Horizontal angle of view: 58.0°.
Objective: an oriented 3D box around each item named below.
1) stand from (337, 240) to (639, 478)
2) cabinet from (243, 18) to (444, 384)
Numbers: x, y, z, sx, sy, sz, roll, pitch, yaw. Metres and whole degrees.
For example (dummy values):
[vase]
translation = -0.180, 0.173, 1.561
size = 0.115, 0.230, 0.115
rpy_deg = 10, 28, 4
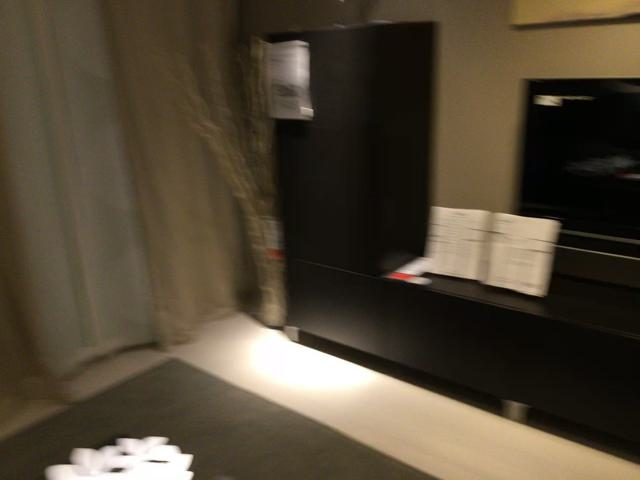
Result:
[stand]
translation = 0.990, 0.420, 2.060
size = 1.970, 0.490, 0.500
rpy_deg = 10, 21, 41
[cabinet]
translation = 0.130, -0.190, 2.630
size = 0.700, 1.450, 0.450
rpy_deg = 10, 21, 41
